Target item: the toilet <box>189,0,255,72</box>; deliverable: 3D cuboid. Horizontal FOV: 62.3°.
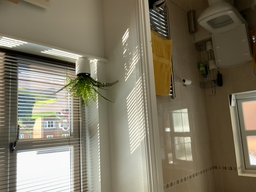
[{"bbox_3d":[1.070,-0.770,2.420,0.460,0.840,0.540,-11,170,42],"label":"toilet"}]
